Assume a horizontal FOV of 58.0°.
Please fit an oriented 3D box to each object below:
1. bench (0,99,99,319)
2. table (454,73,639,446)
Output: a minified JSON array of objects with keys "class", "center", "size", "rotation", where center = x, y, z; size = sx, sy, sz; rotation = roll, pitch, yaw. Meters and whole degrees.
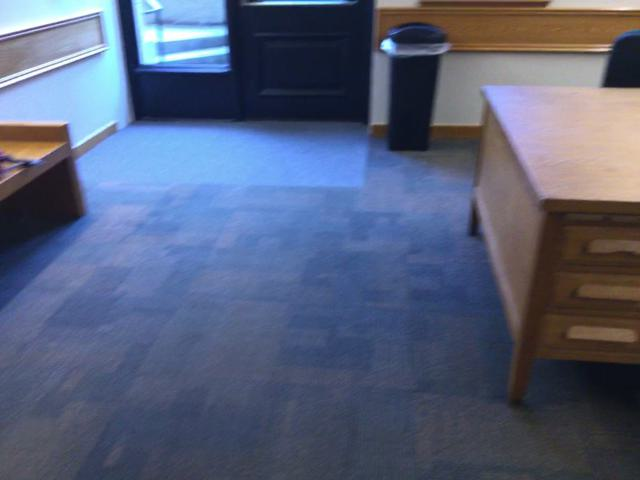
[{"class":"bench","center":[-1.540,0.010,2.240],"size":[0.560,0.580,1.790],"rotation":[6,30,3]},{"class":"table","center":[1.500,-0.050,2.100],"size":[1.750,0.810,1.350],"rotation":[1,28,4]}]
